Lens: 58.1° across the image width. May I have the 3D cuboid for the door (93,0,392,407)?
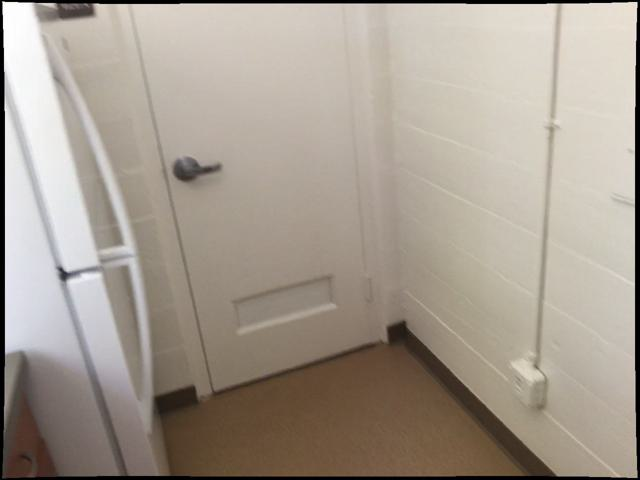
[{"bbox_3d":[-0.219,-0.321,2.120,0.878,1.934,0.140,-15,26,-16],"label":"door"}]
